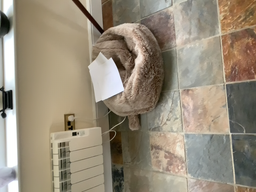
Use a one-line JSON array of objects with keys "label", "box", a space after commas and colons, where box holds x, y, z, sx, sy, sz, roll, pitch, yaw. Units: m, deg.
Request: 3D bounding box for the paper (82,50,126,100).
[{"label": "paper", "box": [-0.210, -0.160, 1.770, 0.380, 0.100, 0.330, -12, 81, 41]}]

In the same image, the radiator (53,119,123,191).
[{"label": "radiator", "box": [-0.300, 0.730, 1.750, 0.150, 0.570, 1.030, -7, 85, 41]}]

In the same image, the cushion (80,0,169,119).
[{"label": "cushion", "box": [-0.060, -0.260, 1.740, 0.650, 0.280, 0.850, -9, 83, 41]}]
